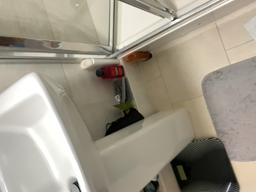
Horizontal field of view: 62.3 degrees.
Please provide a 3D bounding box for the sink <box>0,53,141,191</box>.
[{"bbox_3d":[-0.180,0.240,0.510,0.390,0.160,0.560,-20,86,34],"label":"sink"}]
